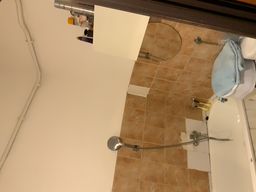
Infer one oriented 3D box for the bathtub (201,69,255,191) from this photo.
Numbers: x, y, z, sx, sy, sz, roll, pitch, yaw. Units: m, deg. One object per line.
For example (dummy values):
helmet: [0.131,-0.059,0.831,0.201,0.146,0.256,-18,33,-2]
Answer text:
bathtub: [1.120,0.770,1.830,0.710,0.540,1.940,106,173,-55]
